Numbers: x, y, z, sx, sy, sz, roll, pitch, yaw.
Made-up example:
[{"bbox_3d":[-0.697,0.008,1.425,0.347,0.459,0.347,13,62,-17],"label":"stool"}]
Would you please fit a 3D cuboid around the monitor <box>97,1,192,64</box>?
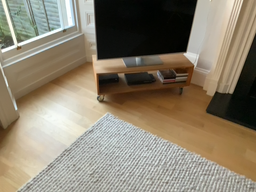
[{"bbox_3d":[0.160,-0.600,2.030,0.880,0.540,0.030,-8,38,-14],"label":"monitor"}]
